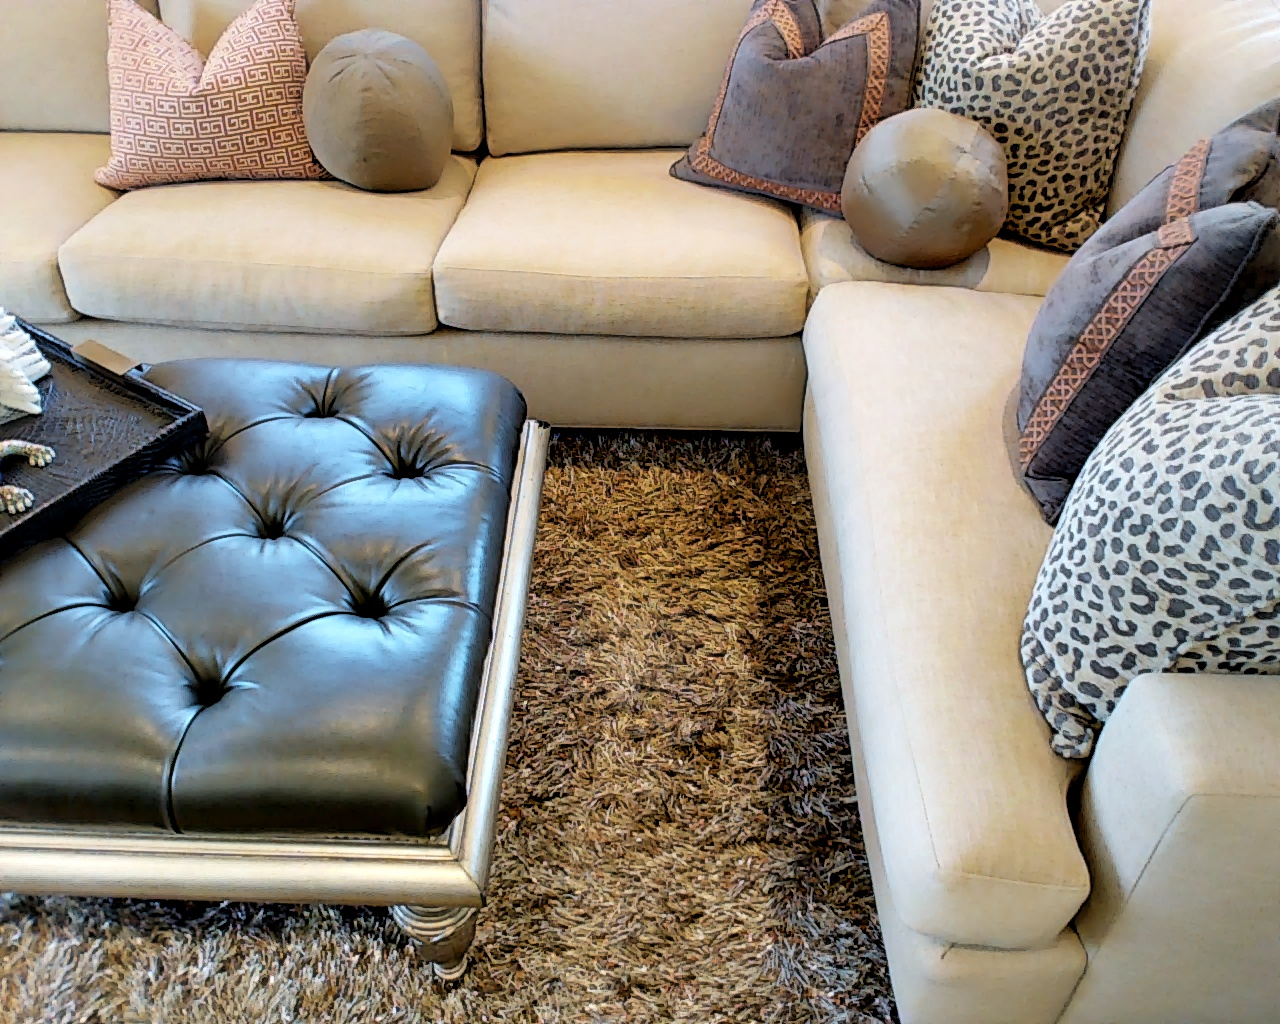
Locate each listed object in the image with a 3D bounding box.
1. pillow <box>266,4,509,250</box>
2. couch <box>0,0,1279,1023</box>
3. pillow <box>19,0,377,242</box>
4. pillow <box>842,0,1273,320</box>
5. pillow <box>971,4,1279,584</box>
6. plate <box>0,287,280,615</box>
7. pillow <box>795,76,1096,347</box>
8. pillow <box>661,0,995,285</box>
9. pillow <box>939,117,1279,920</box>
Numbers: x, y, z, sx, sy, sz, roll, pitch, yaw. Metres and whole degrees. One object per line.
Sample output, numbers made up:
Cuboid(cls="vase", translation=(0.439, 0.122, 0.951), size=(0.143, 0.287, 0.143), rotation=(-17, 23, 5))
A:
Cuboid(cls="pillow", translation=(-0.520, -0.840, 2.330), size=(0.380, 0.380, 0.380), rotation=(3, 41, 3))
Cuboid(cls="couch", translation=(-0.650, -0.410, 1.970), size=(4.239, 1.060, 2.420), rotation=(1, 41, 1))
Cuboid(cls="pillow", translation=(-0.910, -0.880, 2.320), size=(0.540, 0.450, 0.350), rotation=(0, 58, 0))
Cuboid(cls="pillow", translation=(0.780, -0.830, 2.160), size=(0.380, 0.570, 0.550), rotation=(-37, 70, -14))
Cuboid(cls="pillow", translation=(0.770, -0.290, 1.540), size=(0.320, 0.540, 0.530), rotation=(20, 63, 12))
Cuboid(cls="plate", translation=(-1.000, -0.020, 1.430), size=(0.570, 0.060, 0.830), rotation=(23, 46, 24))
Cuboid(cls="pillow", translation=(0.570, -0.590, 2.070), size=(0.360, 0.320, 0.360), rotation=(-23, 46, -24))
Cuboid(cls="pillow", translation=(0.350, -0.860, 2.230), size=(0.570, 0.520, 0.260), rotation=(34, 66, 19))
Cuboid(cls="pillow", translation=(0.710, -0.010, 1.200), size=(0.460, 0.570, 0.630), rotation=(21, 45, 22))
